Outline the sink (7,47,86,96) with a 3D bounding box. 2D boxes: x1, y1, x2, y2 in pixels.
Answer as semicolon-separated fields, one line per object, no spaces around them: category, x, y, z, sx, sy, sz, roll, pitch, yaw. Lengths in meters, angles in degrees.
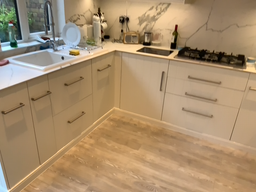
sink;-0.810;-0.280;2.180;0.540;0.280;0.500;14;27;22
